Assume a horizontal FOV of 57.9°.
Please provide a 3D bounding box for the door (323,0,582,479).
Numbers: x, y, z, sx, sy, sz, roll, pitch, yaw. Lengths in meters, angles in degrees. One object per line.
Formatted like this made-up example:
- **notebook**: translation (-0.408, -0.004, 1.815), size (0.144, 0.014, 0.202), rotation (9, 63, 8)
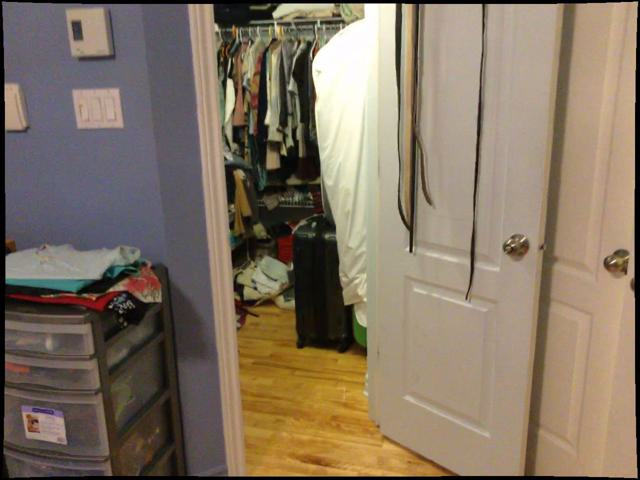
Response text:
- **door**: translation (0.430, -0.190, 1.940), size (0.669, 2.032, 0.560), rotation (3, 18, 17)

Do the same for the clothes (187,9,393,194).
- **clothes**: translation (-0.170, -0.891, 3.800), size (1.229, 1.071, 0.420), rotation (3, 18, 17)

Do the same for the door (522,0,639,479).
- **door**: translation (0.759, -0.110, 1.630), size (0.220, 2.042, 0.300), rotation (3, 18, 17)
